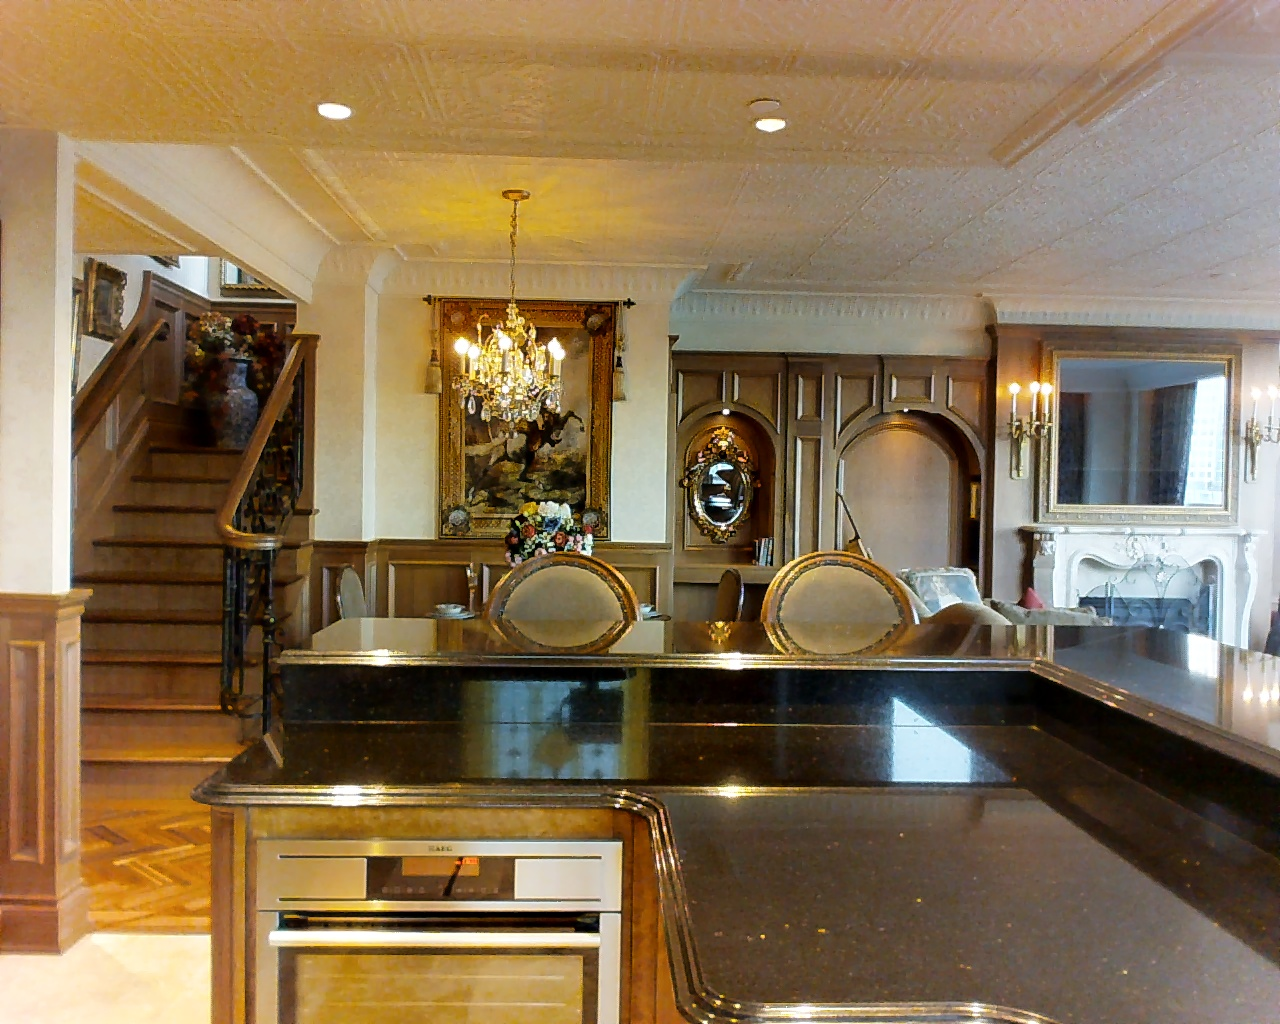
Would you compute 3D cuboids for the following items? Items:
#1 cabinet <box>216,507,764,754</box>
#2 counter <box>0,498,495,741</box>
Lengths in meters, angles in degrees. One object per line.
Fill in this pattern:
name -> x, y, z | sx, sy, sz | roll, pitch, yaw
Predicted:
cabinet -> -0.760, 0.570, 6.270 | 2.589, 1.110, 2.260 | 1, 1, -3
counter -> -2.369, 0.390, 6.150 | 2.699, 0.840, 4.150 | 1, 1, -3
